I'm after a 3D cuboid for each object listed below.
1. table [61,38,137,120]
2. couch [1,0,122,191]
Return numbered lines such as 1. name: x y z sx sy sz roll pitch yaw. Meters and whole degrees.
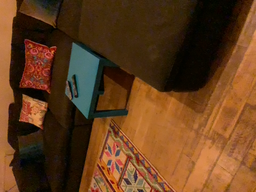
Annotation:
1. table: -0.320 -0.180 2.090 0.560 0.410 0.590 38 120 44
2. couch: -0.960 -0.370 2.620 1.280 0.730 3.490 38 120 44
